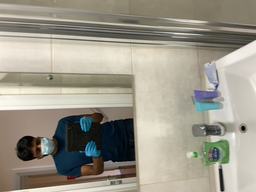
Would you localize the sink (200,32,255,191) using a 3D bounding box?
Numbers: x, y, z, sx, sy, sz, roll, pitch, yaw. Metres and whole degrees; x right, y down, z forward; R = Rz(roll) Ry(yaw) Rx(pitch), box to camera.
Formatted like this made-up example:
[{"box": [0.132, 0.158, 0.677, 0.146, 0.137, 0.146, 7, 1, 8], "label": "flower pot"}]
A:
[{"box": [0.450, 0.100, 0.710, 0.410, 0.150, 0.570, 154, 115, -73], "label": "sink"}]
